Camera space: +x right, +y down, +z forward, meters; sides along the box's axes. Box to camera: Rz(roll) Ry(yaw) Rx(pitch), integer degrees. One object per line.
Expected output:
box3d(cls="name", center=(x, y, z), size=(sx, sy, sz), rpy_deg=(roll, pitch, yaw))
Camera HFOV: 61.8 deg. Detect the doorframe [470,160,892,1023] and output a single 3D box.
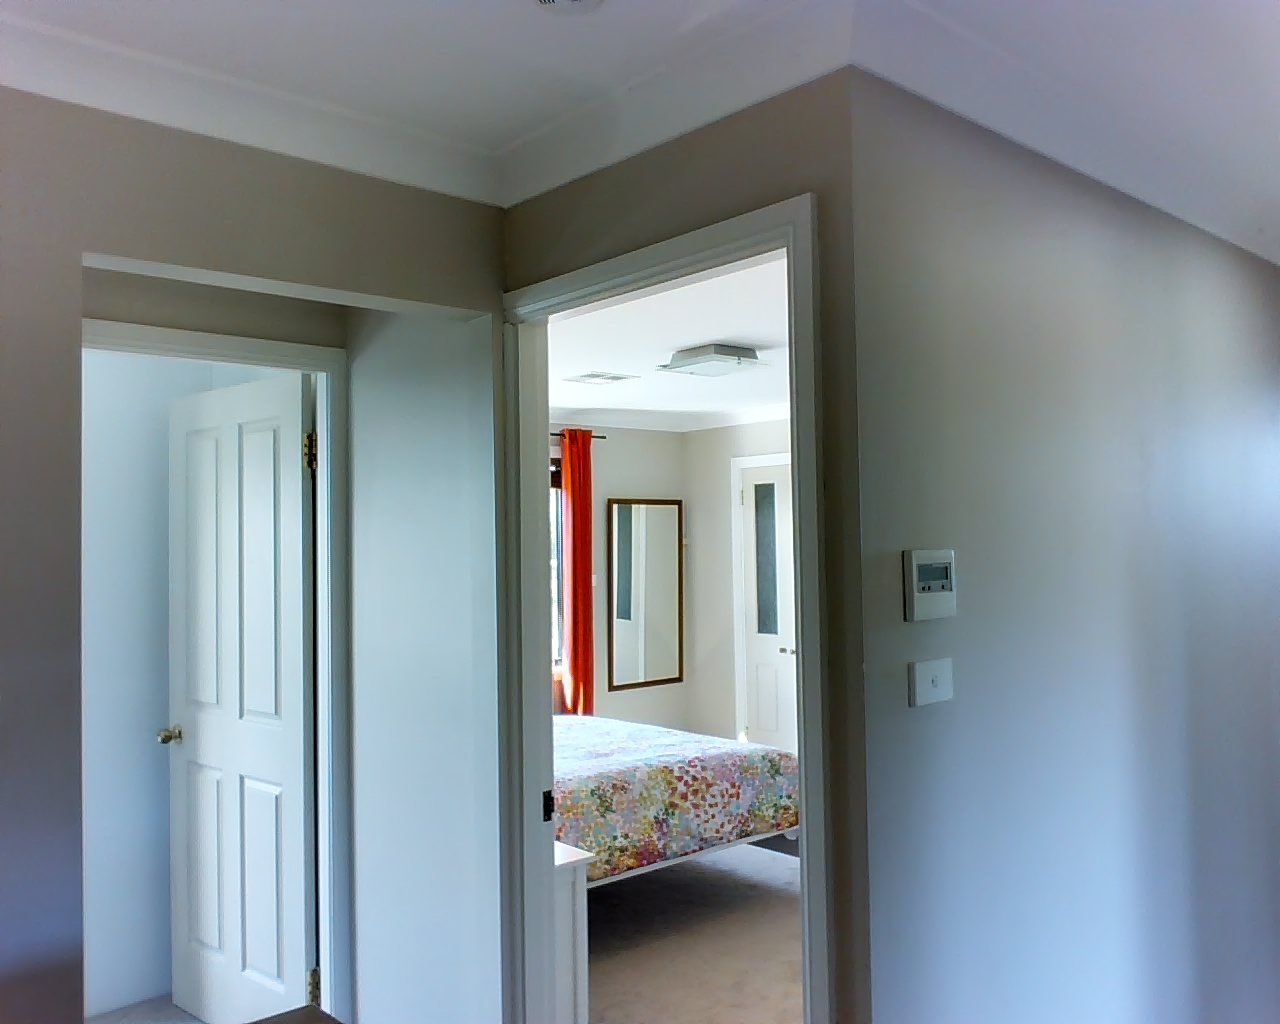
box3d(cls="doorframe", center=(0.020, 0.510, 2.100), size=(0.150, 2.111, 1.000), rpy_deg=(1, -3, -42))
